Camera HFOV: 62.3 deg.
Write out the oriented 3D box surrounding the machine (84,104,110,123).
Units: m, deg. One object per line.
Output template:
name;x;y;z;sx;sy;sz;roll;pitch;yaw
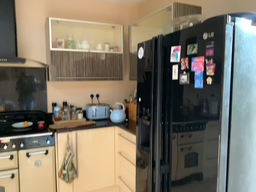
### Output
machine;-0.410;0.220;2.780;0.260;0.190;0.270;-2;5;-26
